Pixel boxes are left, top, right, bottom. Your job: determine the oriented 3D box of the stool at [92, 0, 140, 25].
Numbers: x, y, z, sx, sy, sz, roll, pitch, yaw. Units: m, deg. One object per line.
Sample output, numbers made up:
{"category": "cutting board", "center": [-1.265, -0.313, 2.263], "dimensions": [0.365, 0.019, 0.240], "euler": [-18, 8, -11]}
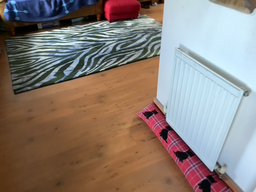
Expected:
{"category": "stool", "center": [-0.220, -1.580, 3.750], "dimensions": [0.640, 0.330, 0.650], "euler": [-16, 41, -19]}
